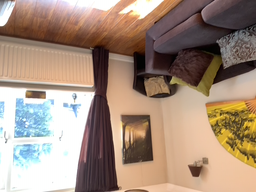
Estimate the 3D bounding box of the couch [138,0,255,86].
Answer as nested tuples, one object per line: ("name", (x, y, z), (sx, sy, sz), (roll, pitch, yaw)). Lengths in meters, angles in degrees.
("couch", (1.040, -0.710, 2.180), (0.940, 0.740, 1.950), (4, 168, -30))
